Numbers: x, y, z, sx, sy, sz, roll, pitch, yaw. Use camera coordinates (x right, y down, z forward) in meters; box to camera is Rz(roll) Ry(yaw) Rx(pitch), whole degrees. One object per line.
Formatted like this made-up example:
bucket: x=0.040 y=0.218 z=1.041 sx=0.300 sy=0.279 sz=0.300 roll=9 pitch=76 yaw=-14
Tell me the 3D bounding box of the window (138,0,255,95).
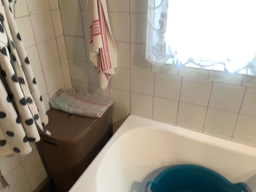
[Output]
window: x=0.360 y=-0.500 z=0.790 sx=0.650 sy=0.990 sz=0.090 roll=13 pitch=33 yaw=22
